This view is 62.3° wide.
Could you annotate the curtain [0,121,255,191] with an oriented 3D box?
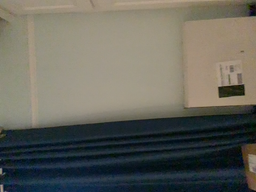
[{"bbox_3d":[0.130,0.430,1.440,0.130,2.090,0.470,-38,-53,-87],"label":"curtain"}]
